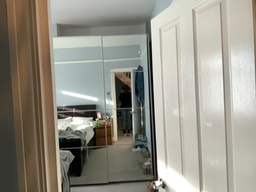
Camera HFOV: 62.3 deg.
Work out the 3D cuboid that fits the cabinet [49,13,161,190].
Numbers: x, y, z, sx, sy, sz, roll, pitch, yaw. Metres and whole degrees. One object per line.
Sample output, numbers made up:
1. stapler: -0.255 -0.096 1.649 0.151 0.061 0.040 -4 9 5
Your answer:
1. cabinet: -0.360 0.080 3.570 1.630 2.760 0.310 -3 1 -2
